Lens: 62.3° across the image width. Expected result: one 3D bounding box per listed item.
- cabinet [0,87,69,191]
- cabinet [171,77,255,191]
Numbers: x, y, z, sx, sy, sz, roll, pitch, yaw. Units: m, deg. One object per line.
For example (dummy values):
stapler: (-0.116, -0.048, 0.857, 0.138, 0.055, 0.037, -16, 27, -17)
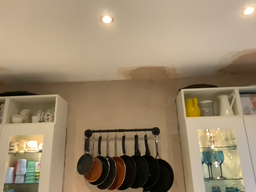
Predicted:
cabinet: (-1.160, 0.500, 2.030, 1.040, 1.080, 0.310, -2, -18, 2)
cabinet: (0.990, 0.400, 1.950, 1.030, 1.080, 0.340, -2, -18, 2)
